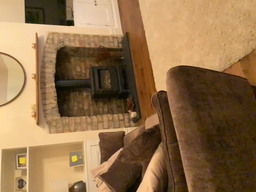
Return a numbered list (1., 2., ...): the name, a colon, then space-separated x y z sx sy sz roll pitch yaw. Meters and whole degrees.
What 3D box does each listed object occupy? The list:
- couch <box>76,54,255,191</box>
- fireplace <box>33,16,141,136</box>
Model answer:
1. couch: 0.170 0.630 1.750 2.050 0.930 1.010 135 131 -64
2. fireplace: -0.690 -0.290 3.370 0.700 1.430 1.620 136 129 -64
